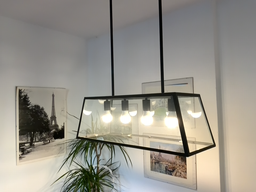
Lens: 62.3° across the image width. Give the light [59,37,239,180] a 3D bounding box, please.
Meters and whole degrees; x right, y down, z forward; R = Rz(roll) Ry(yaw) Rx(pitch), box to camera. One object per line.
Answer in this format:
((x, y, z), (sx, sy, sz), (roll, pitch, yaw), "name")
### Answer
((0.120, 0.140, 1.500), (0.360, 0.910, 0.980), (-89, -3, -55), "light")
